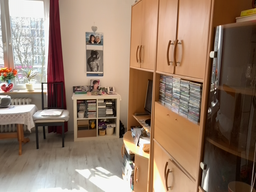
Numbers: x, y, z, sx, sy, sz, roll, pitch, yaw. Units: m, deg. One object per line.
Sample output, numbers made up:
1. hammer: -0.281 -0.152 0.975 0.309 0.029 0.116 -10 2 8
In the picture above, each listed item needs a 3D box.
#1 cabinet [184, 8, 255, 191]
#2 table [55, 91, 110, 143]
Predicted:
1. cabinet: 0.560 0.110 1.040 0.360 0.930 0.340 -2 11 -18
2. table: -0.820 0.340 3.780 0.890 0.780 0.440 -2 11 -18
